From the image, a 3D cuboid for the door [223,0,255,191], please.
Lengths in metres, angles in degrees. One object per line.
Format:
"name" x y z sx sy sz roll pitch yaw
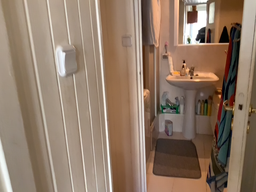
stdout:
"door" 0.600 0.060 1.100 0.100 2.230 0.820 6 19 26
